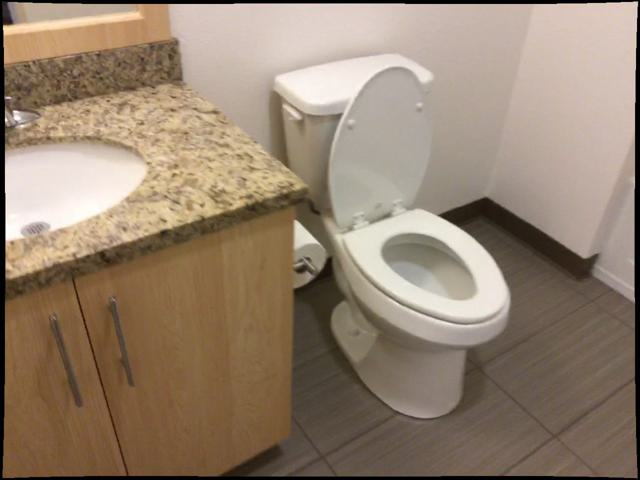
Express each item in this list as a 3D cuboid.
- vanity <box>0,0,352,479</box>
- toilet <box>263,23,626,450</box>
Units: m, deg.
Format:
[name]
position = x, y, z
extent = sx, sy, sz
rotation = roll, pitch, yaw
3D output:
[vanity]
position = -0.599, 0.160, 1.180
extent = 1.119, 1.021, 0.610
rotation = -24, 45, -31
[toilet]
position = 0.250, -0.040, 1.670
extent = 0.490, 0.871, 0.740
rotation = -24, 45, -31
